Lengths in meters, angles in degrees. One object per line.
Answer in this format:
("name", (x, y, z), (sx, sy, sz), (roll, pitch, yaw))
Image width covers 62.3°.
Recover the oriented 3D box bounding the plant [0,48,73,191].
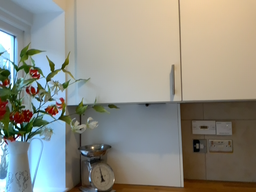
("plant", (-0.480, 0.180, 1.010), (0.260, 0.690, 0.430), (-1, -3, 12))
